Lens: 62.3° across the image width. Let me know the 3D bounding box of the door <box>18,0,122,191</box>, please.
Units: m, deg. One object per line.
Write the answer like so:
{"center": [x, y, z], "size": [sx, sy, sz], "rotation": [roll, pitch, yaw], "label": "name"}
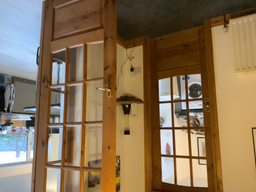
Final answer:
{"center": [-0.500, 0.020, 1.770], "size": [0.950, 2.070, 0.160], "rotation": [-6, 169, 29], "label": "door"}
